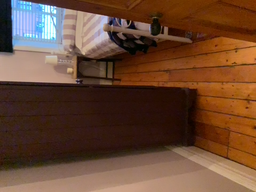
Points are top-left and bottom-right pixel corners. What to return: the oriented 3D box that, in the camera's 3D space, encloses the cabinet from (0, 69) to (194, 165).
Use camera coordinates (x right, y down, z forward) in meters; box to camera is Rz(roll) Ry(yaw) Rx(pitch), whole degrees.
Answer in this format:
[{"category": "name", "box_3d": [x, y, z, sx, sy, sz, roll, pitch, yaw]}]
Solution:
[{"category": "cabinet", "box_3d": [-0.430, 0.110, 1.880, 0.880, 1.790, 0.570, -171, 83, -65]}]
